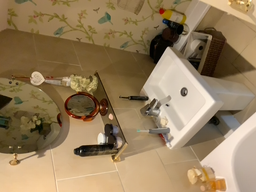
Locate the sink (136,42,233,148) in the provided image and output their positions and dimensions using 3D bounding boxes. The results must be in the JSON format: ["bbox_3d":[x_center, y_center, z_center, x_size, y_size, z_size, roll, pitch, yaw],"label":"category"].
[{"bbox_3d":[0.320,-0.010,1.400,0.450,0.180,0.510,-60,41,35],"label":"sink"}]

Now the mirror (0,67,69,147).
[{"bbox_3d":[-0.590,0.030,1.060,0.050,0.490,0.490,-60,41,35],"label":"mirror"}]
